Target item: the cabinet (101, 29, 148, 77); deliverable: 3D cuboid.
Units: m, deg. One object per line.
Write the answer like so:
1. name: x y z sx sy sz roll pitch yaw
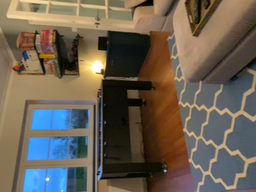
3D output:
1. cabinet: -0.120 -0.810 4.290 1.130 0.740 0.300 114 155 -62
